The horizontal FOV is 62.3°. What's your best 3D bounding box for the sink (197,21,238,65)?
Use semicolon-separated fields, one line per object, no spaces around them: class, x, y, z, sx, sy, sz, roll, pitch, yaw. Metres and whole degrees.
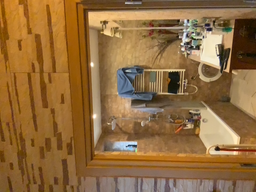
sink;1.090;-0.650;2.690;0.790;0.190;0.470;-75;-14;-78
